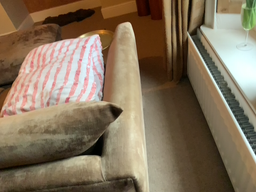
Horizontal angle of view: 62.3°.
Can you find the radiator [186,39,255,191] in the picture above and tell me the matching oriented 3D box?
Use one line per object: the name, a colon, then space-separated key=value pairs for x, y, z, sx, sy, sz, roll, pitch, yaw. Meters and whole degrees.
radiator: x=0.510 y=0.220 z=1.090 sx=0.090 sy=0.360 sz=1.450 roll=-10 pitch=42 yaw=7
